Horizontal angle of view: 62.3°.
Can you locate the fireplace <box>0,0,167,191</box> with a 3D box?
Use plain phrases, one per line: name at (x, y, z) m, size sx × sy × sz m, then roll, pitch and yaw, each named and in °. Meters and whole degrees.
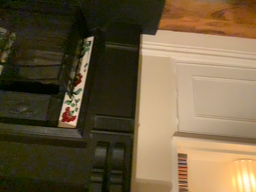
fireplace at (-0.640, -0.030, 1.350) m, size 1.650 × 1.310 × 0.600 m, roll 5°, pitch 152°, yaw 0°
